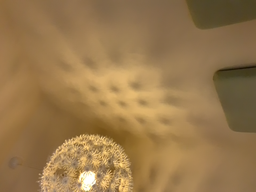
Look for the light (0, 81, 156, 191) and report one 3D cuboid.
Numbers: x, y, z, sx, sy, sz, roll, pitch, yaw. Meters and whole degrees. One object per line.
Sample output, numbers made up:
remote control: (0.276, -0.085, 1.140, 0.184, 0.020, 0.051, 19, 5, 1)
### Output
light: (-0.870, 0.870, 2.520, 2.030, 0.940, 0.910, 29, 145, -6)
